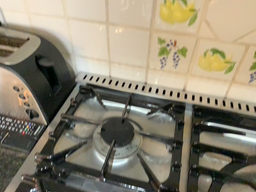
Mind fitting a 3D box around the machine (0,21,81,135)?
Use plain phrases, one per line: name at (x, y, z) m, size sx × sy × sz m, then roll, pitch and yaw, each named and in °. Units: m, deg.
machine at (-0.350, -0.070, 0.590) m, size 0.350 × 0.180 × 0.210 m, roll 12°, pitch 45°, yaw 11°
